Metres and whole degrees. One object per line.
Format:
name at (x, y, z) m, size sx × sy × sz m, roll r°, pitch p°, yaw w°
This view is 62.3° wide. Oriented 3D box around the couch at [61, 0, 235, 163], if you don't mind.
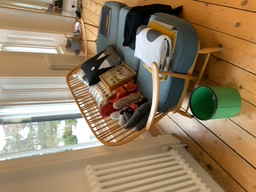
couch at (-0.090, -0.380, 2.130) m, size 1.740 × 0.760 × 1.030 m, roll 42°, pitch 128°, yaw 53°
